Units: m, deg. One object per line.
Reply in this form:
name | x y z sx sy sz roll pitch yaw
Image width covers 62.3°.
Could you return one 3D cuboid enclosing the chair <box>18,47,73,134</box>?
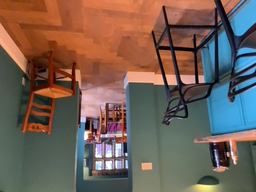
chair | -1.040 -0.030 2.730 0.500 0.980 0.410 -12 164 32
